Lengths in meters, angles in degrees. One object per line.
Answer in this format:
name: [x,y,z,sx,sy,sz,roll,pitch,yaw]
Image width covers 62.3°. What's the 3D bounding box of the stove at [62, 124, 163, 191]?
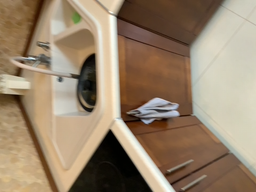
stove: [-0.040,0.510,0.830,0.590,0.040,0.530,50,120,30]
